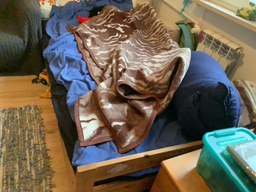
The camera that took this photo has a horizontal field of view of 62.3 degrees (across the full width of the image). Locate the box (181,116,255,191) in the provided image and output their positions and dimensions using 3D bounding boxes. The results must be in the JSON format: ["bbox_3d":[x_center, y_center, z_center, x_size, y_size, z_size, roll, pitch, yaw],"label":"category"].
[{"bbox_3d":[0.470,0.280,0.690,0.390,0.170,0.410,-5,40,-25],"label":"box"}]
